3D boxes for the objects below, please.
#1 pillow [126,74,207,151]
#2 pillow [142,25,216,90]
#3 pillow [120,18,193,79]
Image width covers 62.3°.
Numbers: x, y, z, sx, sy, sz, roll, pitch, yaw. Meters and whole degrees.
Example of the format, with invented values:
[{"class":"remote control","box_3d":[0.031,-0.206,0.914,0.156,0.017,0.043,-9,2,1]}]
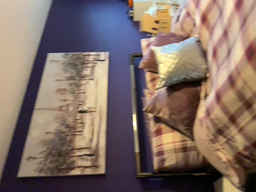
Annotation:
[{"class":"pillow","box_3d":[0.290,0.110,1.650,0.420,0.430,0.180,41,148,22]},{"class":"pillow","box_3d":[0.360,-0.310,1.610,0.170,0.350,0.460,95,158,-53]},{"class":"pillow","box_3d":[0.250,-0.460,1.960,0.450,0.460,0.190,49,153,26]}]
